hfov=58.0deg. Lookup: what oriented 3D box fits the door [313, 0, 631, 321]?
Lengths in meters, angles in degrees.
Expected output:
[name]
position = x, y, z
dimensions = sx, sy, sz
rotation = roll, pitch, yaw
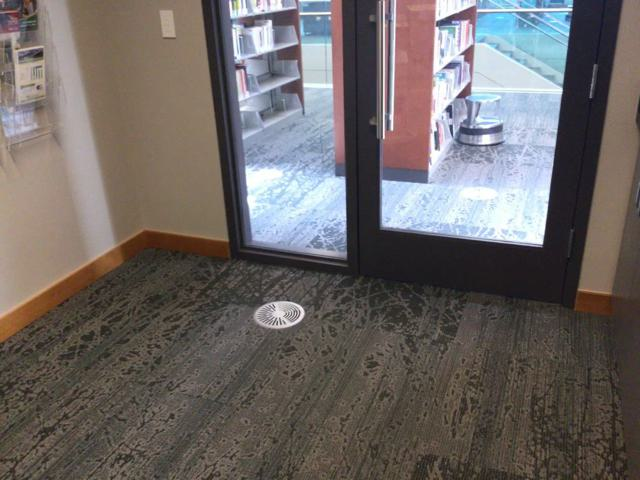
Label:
[door]
position = 0.540, -0.490, 2.290
dimensions = 1.090, 1.540, 0.230
rotation = 8, 26, 21
